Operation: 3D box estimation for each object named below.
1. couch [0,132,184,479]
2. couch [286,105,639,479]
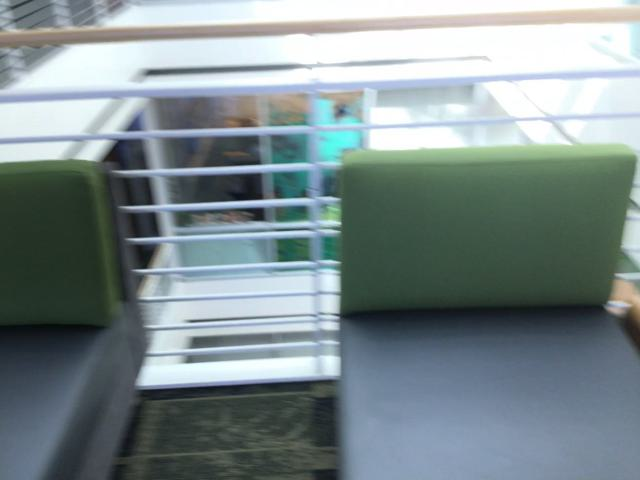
[{"bbox_3d":[-0.800,0.310,1.240,0.740,0.860,0.720,-3,26,1],"label":"couch"},{"bbox_3d":[0.380,0.260,1.210,0.740,0.810,0.740,-8,26,3],"label":"couch"}]
